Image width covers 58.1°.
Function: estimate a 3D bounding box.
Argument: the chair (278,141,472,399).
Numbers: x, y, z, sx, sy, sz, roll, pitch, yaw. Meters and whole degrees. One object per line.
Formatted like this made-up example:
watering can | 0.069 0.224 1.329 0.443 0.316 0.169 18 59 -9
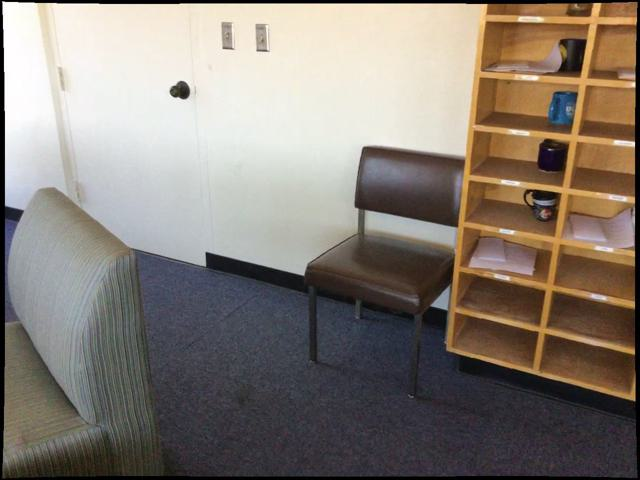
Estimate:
chair | 0.229 0.070 2.300 0.569 0.772 0.600 9 23 21
